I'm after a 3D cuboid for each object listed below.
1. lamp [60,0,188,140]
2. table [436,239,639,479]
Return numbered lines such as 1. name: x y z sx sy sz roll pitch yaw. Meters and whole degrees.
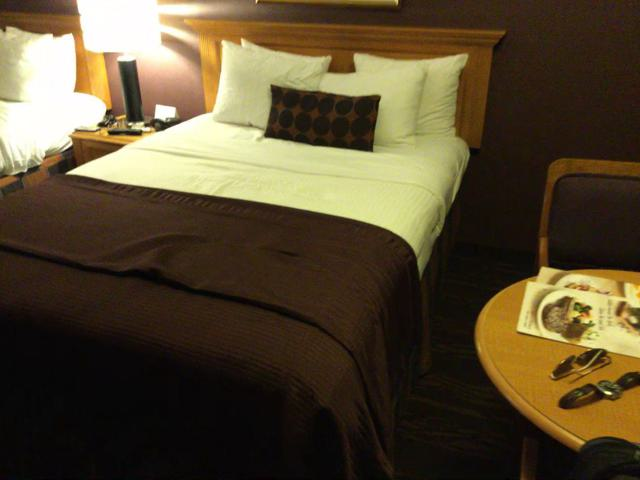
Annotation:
1. lamp: -1.010 -0.950 3.050 0.400 0.720 0.420 10 25 20
2. table: 0.760 0.560 1.330 0.880 0.780 0.720 10 25 20
